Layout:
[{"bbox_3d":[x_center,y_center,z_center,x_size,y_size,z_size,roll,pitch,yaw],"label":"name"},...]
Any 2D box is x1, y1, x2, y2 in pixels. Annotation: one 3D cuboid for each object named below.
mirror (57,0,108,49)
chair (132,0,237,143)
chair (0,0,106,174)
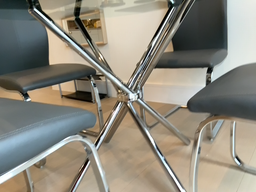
[{"bbox_3d":[-0.570,-1.310,2.200,0.690,1.580,0.050,7,20,39],"label":"mirror"},{"bbox_3d":[0.400,-0.330,1.380,0.450,1.030,0.560,6,19,36],"label":"chair"},{"bbox_3d":[-0.560,-0.190,1.260,0.570,1.030,0.450,6,20,37],"label":"chair"}]
